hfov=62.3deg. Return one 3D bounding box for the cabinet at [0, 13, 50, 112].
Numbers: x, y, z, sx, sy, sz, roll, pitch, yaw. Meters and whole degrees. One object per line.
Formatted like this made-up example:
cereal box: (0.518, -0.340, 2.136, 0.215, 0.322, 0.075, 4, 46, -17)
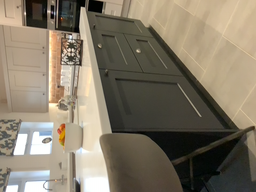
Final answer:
cabinet: (-2.130, -0.580, 4.460, 0.410, 0.880, 2.040, -110, 29, -50)
